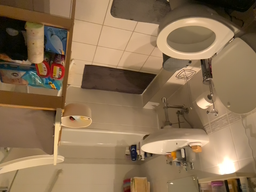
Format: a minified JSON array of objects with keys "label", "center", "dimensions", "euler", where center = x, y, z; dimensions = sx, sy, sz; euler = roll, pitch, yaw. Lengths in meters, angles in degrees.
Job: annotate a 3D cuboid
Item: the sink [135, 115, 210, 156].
[{"label":"sink","center":[0.360,0.380,1.910],"dimensions":[0.420,0.190,0.590],"euler":[6,153,-16]}]
